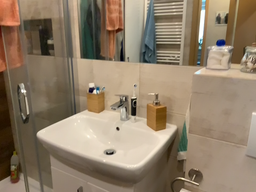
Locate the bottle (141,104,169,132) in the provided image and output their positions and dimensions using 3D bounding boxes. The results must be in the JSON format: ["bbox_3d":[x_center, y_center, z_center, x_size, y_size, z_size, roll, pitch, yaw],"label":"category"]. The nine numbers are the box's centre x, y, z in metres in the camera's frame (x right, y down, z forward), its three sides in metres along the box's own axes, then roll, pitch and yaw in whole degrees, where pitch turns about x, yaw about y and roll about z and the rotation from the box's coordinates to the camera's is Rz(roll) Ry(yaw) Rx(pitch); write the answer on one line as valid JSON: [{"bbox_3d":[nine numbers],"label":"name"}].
[{"bbox_3d":[0.140,0.110,1.110,0.110,0.100,0.100,9,18,30],"label":"bottle"}]
